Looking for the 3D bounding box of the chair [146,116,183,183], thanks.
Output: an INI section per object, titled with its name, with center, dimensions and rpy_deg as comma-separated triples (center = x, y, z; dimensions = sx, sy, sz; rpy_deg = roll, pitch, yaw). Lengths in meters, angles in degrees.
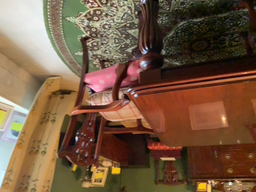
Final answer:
[chair]
center = 0.600, 0.890, 3.490
dimensions = 0.450, 0.970, 0.500
rpy_deg = -9, 153, 21
